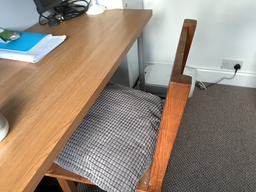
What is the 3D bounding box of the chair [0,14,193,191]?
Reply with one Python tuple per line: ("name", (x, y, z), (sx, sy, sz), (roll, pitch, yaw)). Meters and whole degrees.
("chair", (-0.030, 0.160, 0.890), (0.480, 0.850, 0.420), (6, 41, 13))
